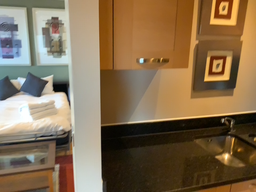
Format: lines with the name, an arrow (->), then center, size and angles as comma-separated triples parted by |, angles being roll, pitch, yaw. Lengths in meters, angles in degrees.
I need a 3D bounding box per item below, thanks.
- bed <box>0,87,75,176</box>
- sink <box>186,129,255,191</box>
bed -> -1.770, 0.400, 3.490 | 1.600, 0.600, 2.170 | -3, 15, -17
sink -> 0.720, 0.460, 1.600 | 0.370, 0.240, 0.400 | -3, 15, -16
